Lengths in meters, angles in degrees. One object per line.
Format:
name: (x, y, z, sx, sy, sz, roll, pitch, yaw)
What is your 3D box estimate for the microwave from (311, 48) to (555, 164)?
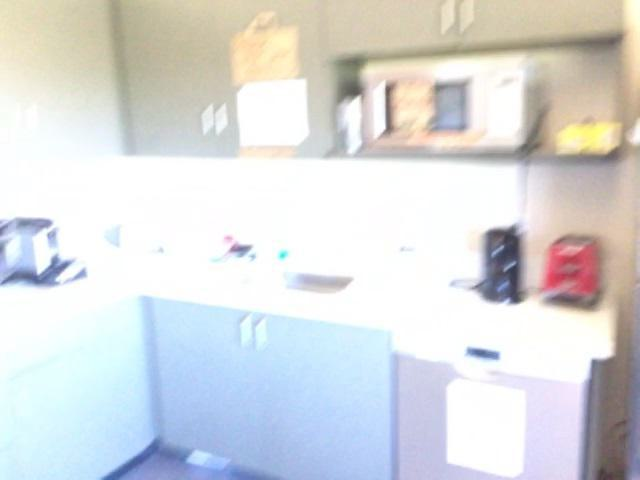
microwave: (0.380, -0.430, 1.970, 0.760, 0.320, 0.300, 3, 9, 24)

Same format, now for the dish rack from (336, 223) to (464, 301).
dish rack: (0.320, 0.070, 2.240, 0.400, 0.220, 0.370, 3, 9, 24)

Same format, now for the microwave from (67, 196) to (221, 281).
microwave: (-0.830, -0.030, 2.700, 0.620, 0.300, 0.430, -5, 9, -24)

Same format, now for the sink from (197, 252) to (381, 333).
sink: (-0.110, 0.200, 2.470, 0.590, 0.180, 0.560, 3, 9, 24)
